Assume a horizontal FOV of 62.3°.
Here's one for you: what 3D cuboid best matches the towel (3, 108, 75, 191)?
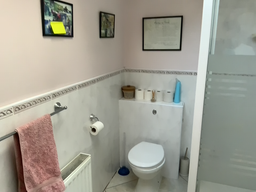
[{"bbox_3d":[-0.490,0.360,1.240,0.170,0.490,0.320,6,17,20],"label":"towel"}]
